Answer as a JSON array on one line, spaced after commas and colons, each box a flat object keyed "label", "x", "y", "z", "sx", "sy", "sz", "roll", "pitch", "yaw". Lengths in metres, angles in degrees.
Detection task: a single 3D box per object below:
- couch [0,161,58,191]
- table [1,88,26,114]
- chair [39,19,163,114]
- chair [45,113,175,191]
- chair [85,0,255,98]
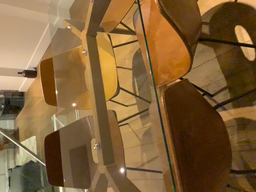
[{"label": "couch", "x": -1.920, "y": 1.700, "z": 3.810, "sx": 1.200, "sy": 0.920, "sz": 0.800, "roll": -26, "pitch": 69, "yaw": 50}, {"label": "table", "x": -3.170, "y": 0.140, "z": 5.850, "sx": 0.730, "sy": 0.470, "sz": 0.520, "roll": -26, "pitch": 69, "yaw": 50}, {"label": "chair", "x": -0.200, "y": -0.160, "z": 1.610, "sx": 0.440, "sy": 0.770, "sz": 0.500, "roll": -20, "pitch": 73, "yaw": 51}, {"label": "chair", "x": -0.130, "y": 0.420, "z": 1.520, "sx": 0.460, "sy": 0.750, "sz": 0.500, "roll": -20, "pitch": 73, "yaw": 51}, {"label": "chair", "x": 0.270, "y": -0.310, "z": 1.000, "sx": 0.430, "sy": 0.760, "sz": 0.510, "roll": -33, "pitch": 64, "yaw": 48}]
